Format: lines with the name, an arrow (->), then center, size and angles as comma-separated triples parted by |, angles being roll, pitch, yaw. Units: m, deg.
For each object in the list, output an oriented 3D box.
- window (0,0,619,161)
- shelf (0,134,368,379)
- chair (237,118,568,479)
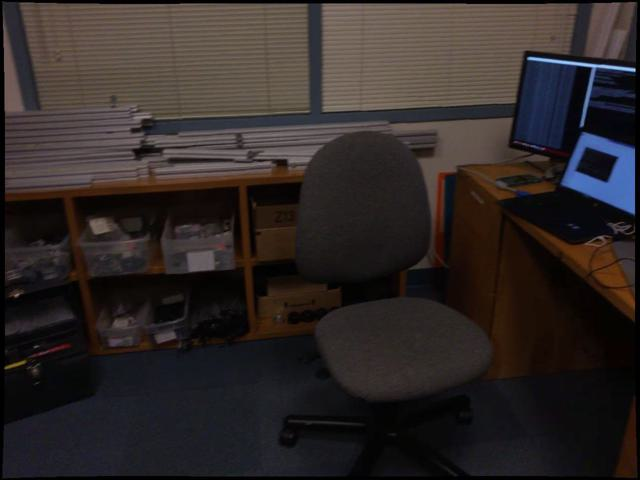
window -> 0.030, -0.722, 2.500 | 2.514, 0.591, 0.170 | -4, 26, -8
shelf -> -0.748, 0.050, 2.480 | 1.815, 0.802, 0.520 | -4, 26, -8
chair -> 0.190, 0.231, 1.810 | 0.649, 1.012, 0.670 | -12, 28, -22
